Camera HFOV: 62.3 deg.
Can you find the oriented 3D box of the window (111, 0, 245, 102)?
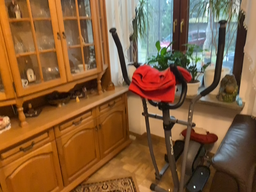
[{"bbox_3d":[0.480,-0.880,2.400,1.440,1.670,0.270,11,23,32],"label":"window"}]

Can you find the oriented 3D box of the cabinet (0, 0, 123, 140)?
[{"bbox_3d":[-0.680,-0.530,1.850,0.410,1.280,1.490,11,23,33],"label":"cabinet"}]
